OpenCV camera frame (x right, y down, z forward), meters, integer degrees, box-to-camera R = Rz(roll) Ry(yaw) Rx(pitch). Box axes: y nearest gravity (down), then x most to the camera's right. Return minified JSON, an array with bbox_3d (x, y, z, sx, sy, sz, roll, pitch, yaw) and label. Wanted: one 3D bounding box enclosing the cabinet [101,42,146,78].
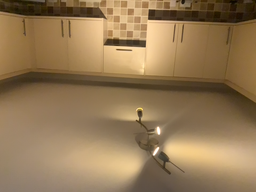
[{"bbox_3d":[-0.060,-0.550,3.150,0.600,0.460,0.330,5,-164,6],"label":"cabinet"}]
